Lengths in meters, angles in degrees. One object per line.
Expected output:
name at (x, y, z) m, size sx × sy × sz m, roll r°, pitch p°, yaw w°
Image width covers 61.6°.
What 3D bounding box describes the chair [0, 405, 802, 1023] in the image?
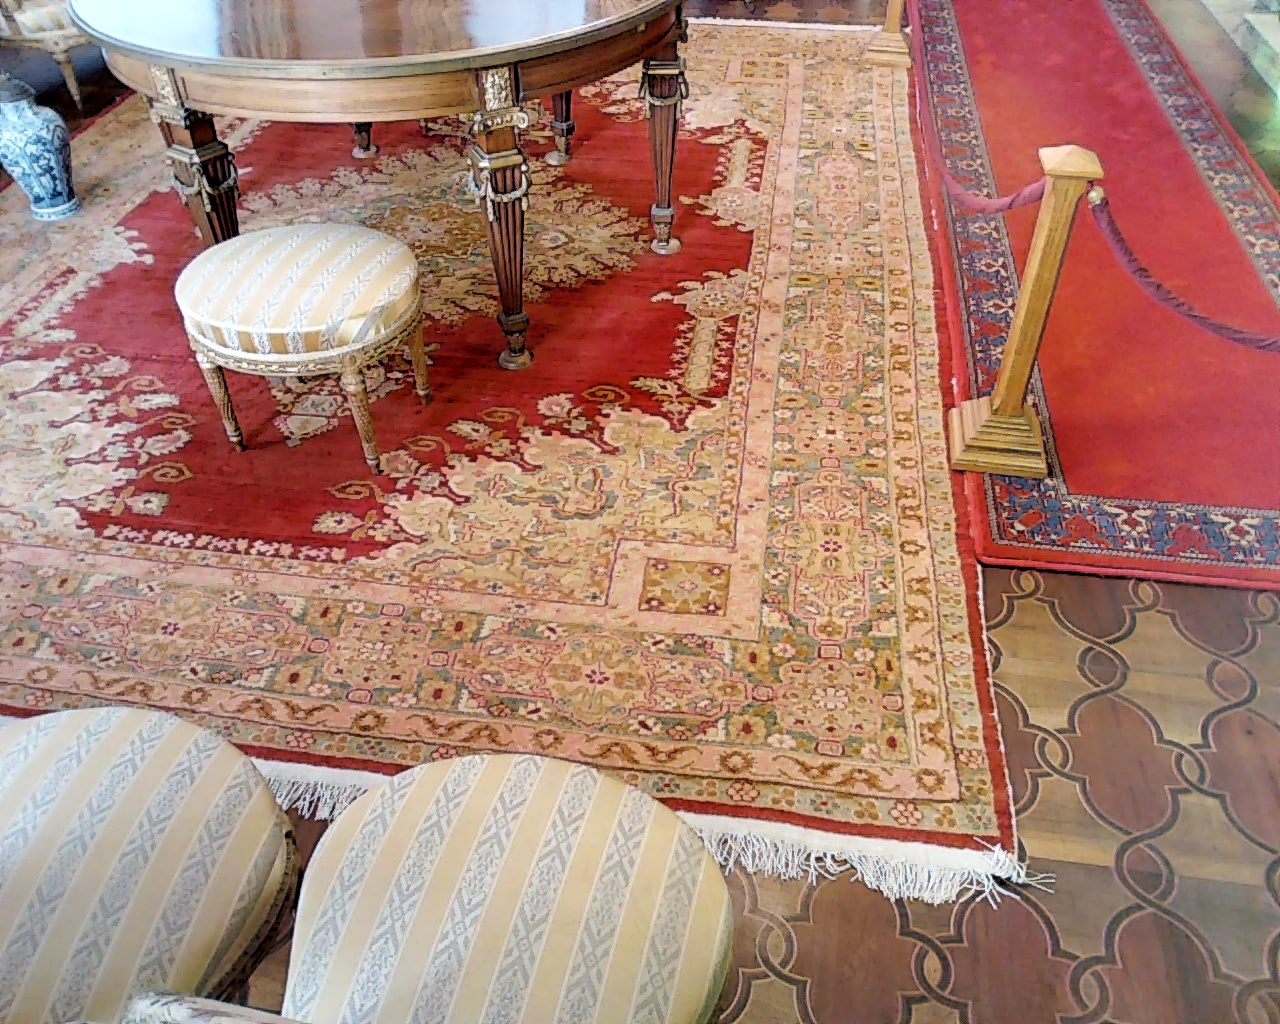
chair at (-0.180, 0.530, 1.220) m, size 0.590 × 1.040 × 0.690 m, roll 6°, pitch 42°, yaw 8°
